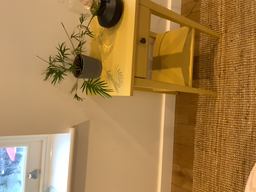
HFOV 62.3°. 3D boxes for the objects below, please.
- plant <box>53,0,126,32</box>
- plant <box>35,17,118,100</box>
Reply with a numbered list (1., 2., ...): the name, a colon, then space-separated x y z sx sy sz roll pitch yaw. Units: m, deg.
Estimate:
1. plant: -0.150 -0.370 0.860 0.130 0.250 0.130 0 86 50
2. plant: -0.220 -0.130 0.900 0.250 0.240 0.270 1 87 50
